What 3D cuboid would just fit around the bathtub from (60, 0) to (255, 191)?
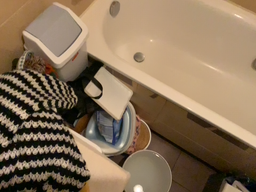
[{"bbox_3d":[0.550,-0.050,1.340,1.670,0.610,0.770,31,68,9],"label":"bathtub"}]
